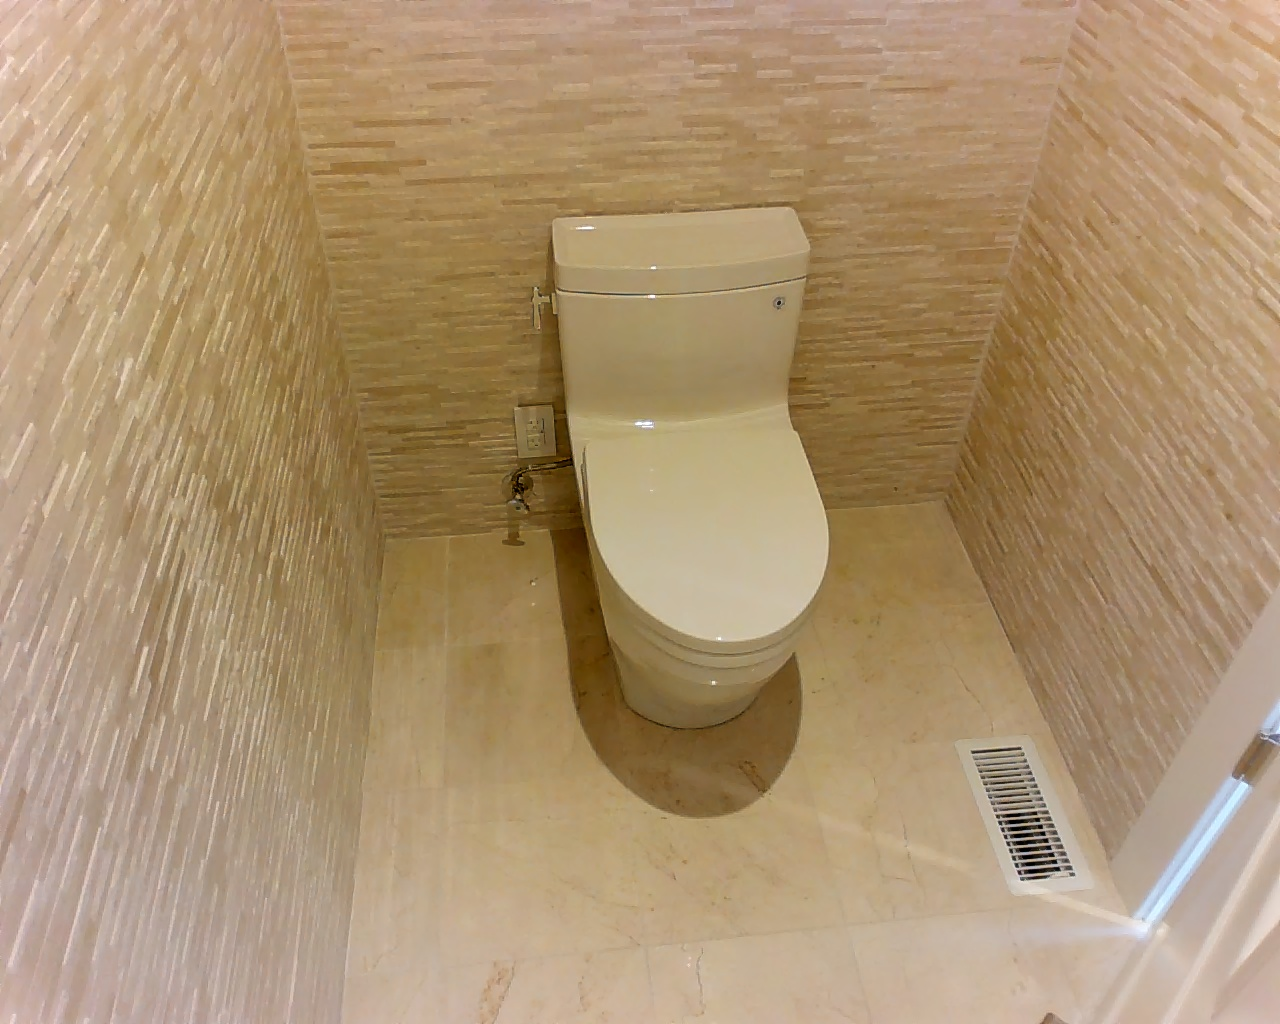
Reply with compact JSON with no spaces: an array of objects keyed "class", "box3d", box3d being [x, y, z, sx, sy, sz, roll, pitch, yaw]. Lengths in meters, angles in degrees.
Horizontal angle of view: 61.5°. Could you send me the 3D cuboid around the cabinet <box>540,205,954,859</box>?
[{"class":"cabinet","box3d":[0.100,0.020,1.780,0.460,0.740,0.750,-4,43,-5]}]
